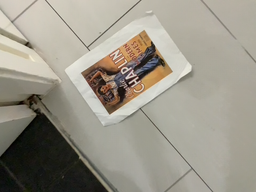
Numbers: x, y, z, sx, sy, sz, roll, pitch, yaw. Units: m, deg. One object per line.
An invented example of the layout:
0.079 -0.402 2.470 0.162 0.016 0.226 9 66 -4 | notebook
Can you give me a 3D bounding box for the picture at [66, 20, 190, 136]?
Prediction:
0.000 -0.050 0.590 0.280 0.001 0.200 -35 90 0 | picture
